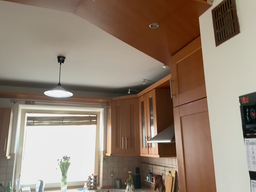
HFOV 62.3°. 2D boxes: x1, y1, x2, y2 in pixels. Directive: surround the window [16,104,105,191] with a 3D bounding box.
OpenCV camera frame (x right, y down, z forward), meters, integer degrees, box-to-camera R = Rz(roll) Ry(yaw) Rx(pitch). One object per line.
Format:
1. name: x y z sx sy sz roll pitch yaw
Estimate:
1. window: -1.180 0.960 3.930 1.450 1.540 0.260 4 -14 -21
